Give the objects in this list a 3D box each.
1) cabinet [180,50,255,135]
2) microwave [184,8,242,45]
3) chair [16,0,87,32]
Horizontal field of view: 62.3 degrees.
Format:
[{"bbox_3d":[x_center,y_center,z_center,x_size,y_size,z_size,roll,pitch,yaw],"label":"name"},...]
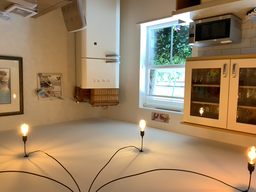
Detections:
[{"bbox_3d":[1.110,-0.060,2.250,1.030,0.790,0.320,6,-172,43],"label":"cabinet"},{"bbox_3d":[0.920,-0.740,2.320,0.490,0.270,0.320,6,-172,43],"label":"microwave"},{"bbox_3d":[-0.840,-1.280,2.350,0.420,0.970,0.610,6,-172,41],"label":"chair"}]
